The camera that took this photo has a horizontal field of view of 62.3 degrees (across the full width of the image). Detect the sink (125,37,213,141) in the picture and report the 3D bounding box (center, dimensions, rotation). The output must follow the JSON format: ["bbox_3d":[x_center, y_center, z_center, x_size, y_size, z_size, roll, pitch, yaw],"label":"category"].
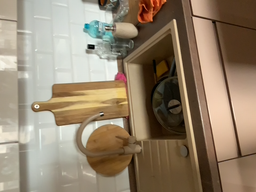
[{"bbox_3d":[0.190,-0.010,1.120,0.340,0.240,0.460,-22,71,60],"label":"sink"}]
